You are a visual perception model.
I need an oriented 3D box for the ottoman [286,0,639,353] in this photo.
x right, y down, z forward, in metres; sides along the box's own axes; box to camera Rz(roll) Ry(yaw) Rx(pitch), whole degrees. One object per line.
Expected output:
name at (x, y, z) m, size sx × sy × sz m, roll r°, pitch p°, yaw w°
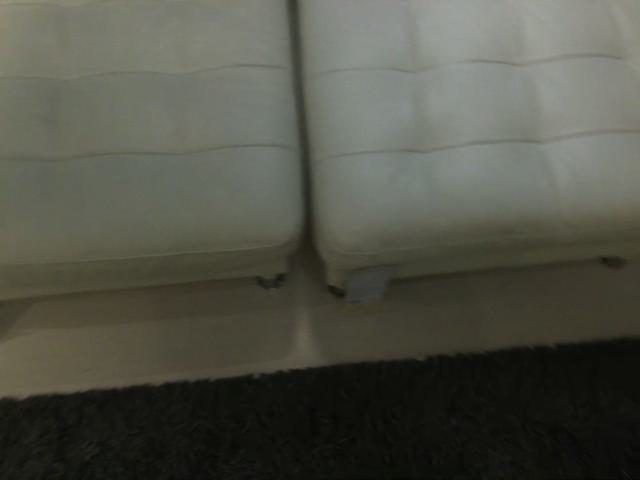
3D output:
ottoman at (0.390, -0.210, 1.150) m, size 0.870 × 0.510 × 0.660 m, roll -4°, pitch 60°, yaw -3°

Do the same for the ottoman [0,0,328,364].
ottoman at (-0.420, -0.160, 1.140) m, size 0.800 × 0.500 × 0.630 m, roll -4°, pitch 60°, yaw -3°
